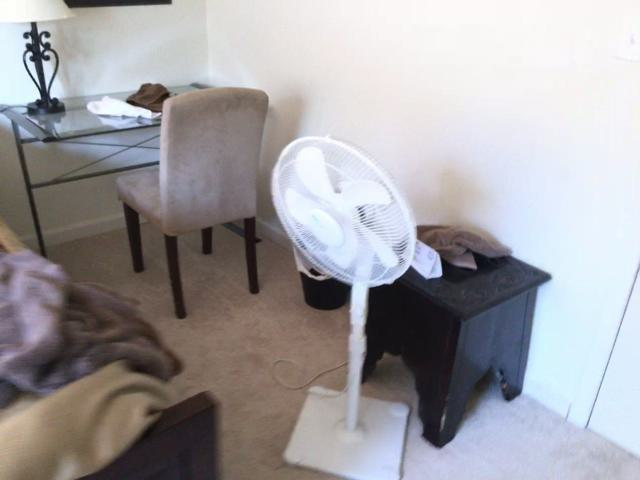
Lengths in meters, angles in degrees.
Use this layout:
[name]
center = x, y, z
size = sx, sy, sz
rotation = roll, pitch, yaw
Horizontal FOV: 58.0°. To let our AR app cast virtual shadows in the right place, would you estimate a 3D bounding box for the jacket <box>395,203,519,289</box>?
[jacket]
center = 0.460, 0.010, 1.960
size = 0.270, 0.120, 0.290
rotation = -18, 35, -35
